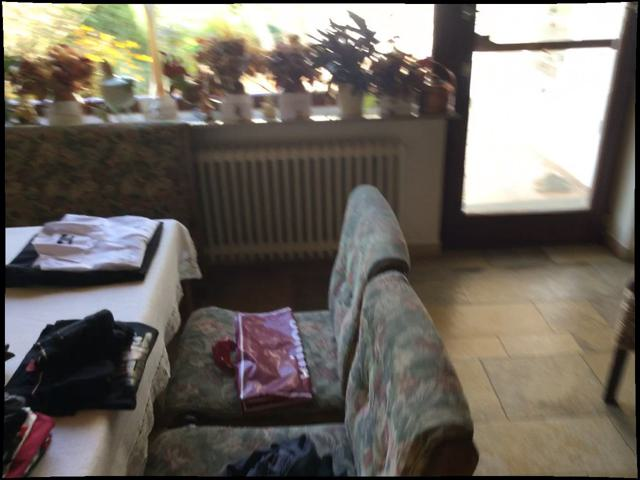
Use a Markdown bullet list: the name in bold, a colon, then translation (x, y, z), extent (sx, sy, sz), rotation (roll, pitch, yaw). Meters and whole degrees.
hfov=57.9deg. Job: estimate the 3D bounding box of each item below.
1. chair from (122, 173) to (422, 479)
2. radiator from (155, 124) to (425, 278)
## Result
- **chair**: translation (-0.100, 0.330, 1.730), extent (0.649, 0.871, 0.620), rotation (-2, 28, -1)
- **radiator**: translation (-0.130, -0.190, 2.880), extent (1.219, 0.681, 0.250), rotation (-2, 28, -1)
